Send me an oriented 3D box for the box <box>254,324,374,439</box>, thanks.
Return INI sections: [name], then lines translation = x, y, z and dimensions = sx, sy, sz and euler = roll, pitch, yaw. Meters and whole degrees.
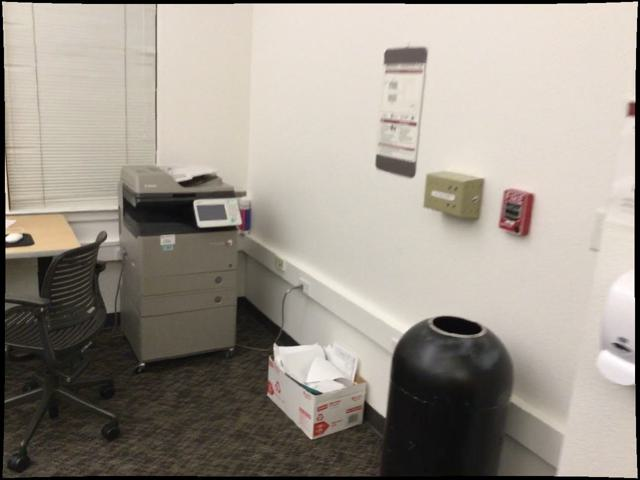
[box]
translation = -0.050, 0.661, 2.820
dimensions = 0.330, 0.240, 0.590
euler = -5, 18, -29
